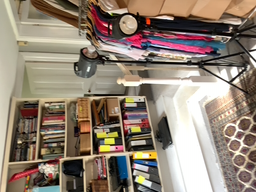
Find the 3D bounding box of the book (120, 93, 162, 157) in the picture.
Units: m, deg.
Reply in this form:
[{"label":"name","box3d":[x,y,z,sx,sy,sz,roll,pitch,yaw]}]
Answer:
[{"label":"book","box3d":[0.160,0.410,3.090,0.360,0.410,0.840,120,146,-61]}]

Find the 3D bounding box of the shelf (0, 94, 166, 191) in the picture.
[{"label":"shelf","box3d":[-0.490,1.170,2.560,0.330,1.880,2.540,116,150,-58]}]
